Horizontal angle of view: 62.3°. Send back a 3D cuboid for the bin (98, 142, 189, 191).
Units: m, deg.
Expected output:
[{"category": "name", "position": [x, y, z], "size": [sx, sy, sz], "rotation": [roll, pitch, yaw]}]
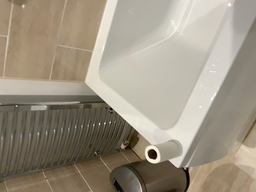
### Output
[{"category": "bin", "position": [0.100, 0.490, 1.300], "size": [0.260, 0.440, 0.240], "rotation": [39, 118, 40]}]
